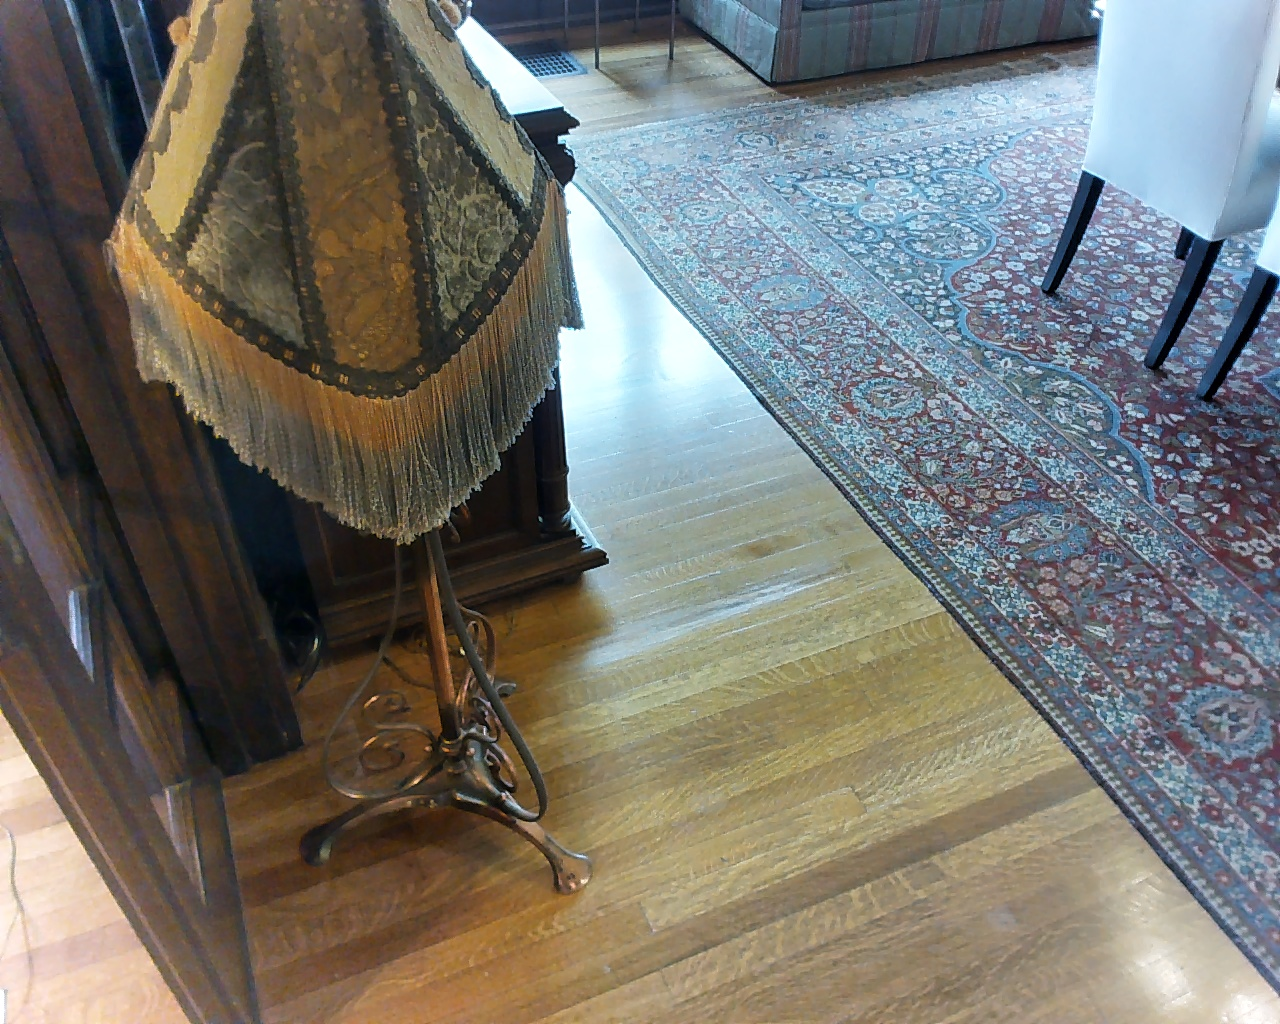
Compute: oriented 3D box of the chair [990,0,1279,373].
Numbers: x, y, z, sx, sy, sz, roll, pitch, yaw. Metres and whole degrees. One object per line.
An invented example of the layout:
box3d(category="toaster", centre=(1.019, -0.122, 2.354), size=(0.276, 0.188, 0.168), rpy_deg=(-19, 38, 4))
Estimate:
box3d(category="chair", centre=(1.510, -1.020, 2.750), size=(0.750, 0.980, 0.630), rpy_deg=(-19, 46, -21))
